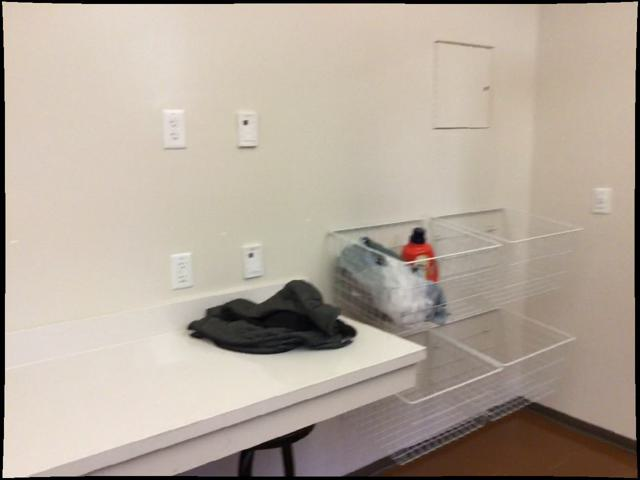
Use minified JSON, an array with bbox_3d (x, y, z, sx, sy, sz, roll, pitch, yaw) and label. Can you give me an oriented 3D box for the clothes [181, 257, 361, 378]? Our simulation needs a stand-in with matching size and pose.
[{"bbox_3d":[-0.160,0.210,1.770,0.360,0.180,0.460,-10,14,-33],"label":"clothes"}]
